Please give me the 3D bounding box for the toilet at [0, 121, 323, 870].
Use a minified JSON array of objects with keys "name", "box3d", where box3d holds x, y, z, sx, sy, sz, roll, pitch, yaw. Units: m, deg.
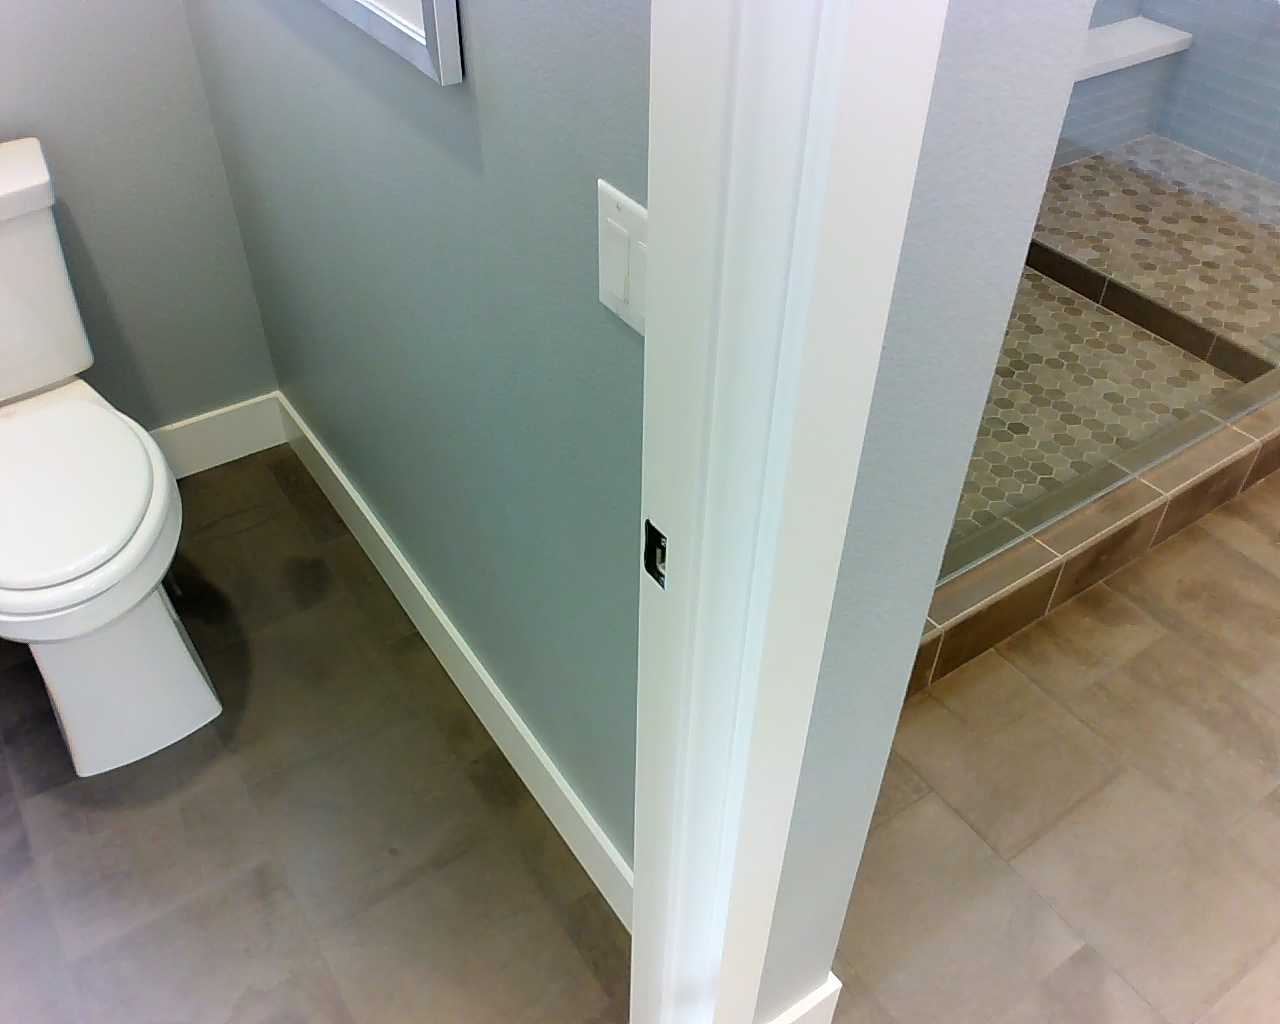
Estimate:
[{"name":"toilet","box3d":[-0.940,-0.050,1.710,0.440,0.810,0.780,-24,47,-25]}]
